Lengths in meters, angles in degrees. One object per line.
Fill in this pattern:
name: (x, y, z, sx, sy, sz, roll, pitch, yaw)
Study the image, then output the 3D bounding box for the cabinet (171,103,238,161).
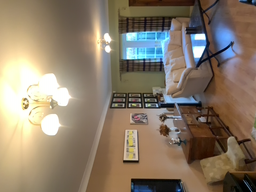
cabinet: (1.390, 0.630, 4.170, 1.350, 0.810, 0.500, -88, -2, -68)
